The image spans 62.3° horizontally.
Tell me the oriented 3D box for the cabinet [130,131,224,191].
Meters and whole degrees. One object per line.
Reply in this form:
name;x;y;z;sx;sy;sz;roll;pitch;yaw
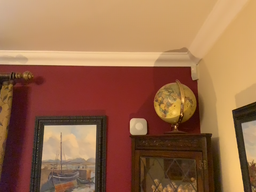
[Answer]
cabinet;0.270;0.790;1.300;0.510;1.100;0.370;1;-14;-1
